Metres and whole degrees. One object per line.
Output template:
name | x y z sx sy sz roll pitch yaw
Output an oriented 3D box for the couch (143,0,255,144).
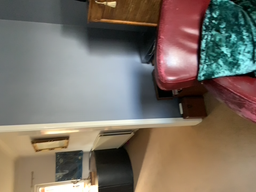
couch | 0.660 -0.340 1.130 0.860 0.820 0.780 -131 44 -64
